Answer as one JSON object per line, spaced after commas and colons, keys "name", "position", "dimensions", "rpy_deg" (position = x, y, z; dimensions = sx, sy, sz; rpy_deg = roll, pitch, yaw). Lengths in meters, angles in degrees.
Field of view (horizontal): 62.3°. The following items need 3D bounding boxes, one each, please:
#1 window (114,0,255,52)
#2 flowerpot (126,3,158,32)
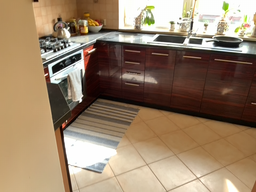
{"name": "window", "position": [0.740, -1.500, 2.390], "dimensions": [1.880, 1.790, 0.180], "rpy_deg": [11, 29, 18]}
{"name": "flowerpot", "position": [0.190, -1.090, 2.940], "dimensions": [0.370, 0.340, 0.200], "rpy_deg": [11, 29, 18]}
